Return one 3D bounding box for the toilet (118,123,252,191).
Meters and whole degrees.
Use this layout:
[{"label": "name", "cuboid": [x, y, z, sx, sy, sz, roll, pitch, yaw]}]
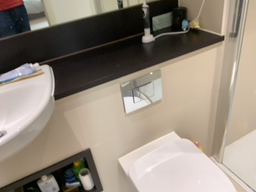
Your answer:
[{"label": "toilet", "cuboid": [0.250, 0.520, 1.040, 0.360, 0.460, 0.520, -20, 35, -17]}]
